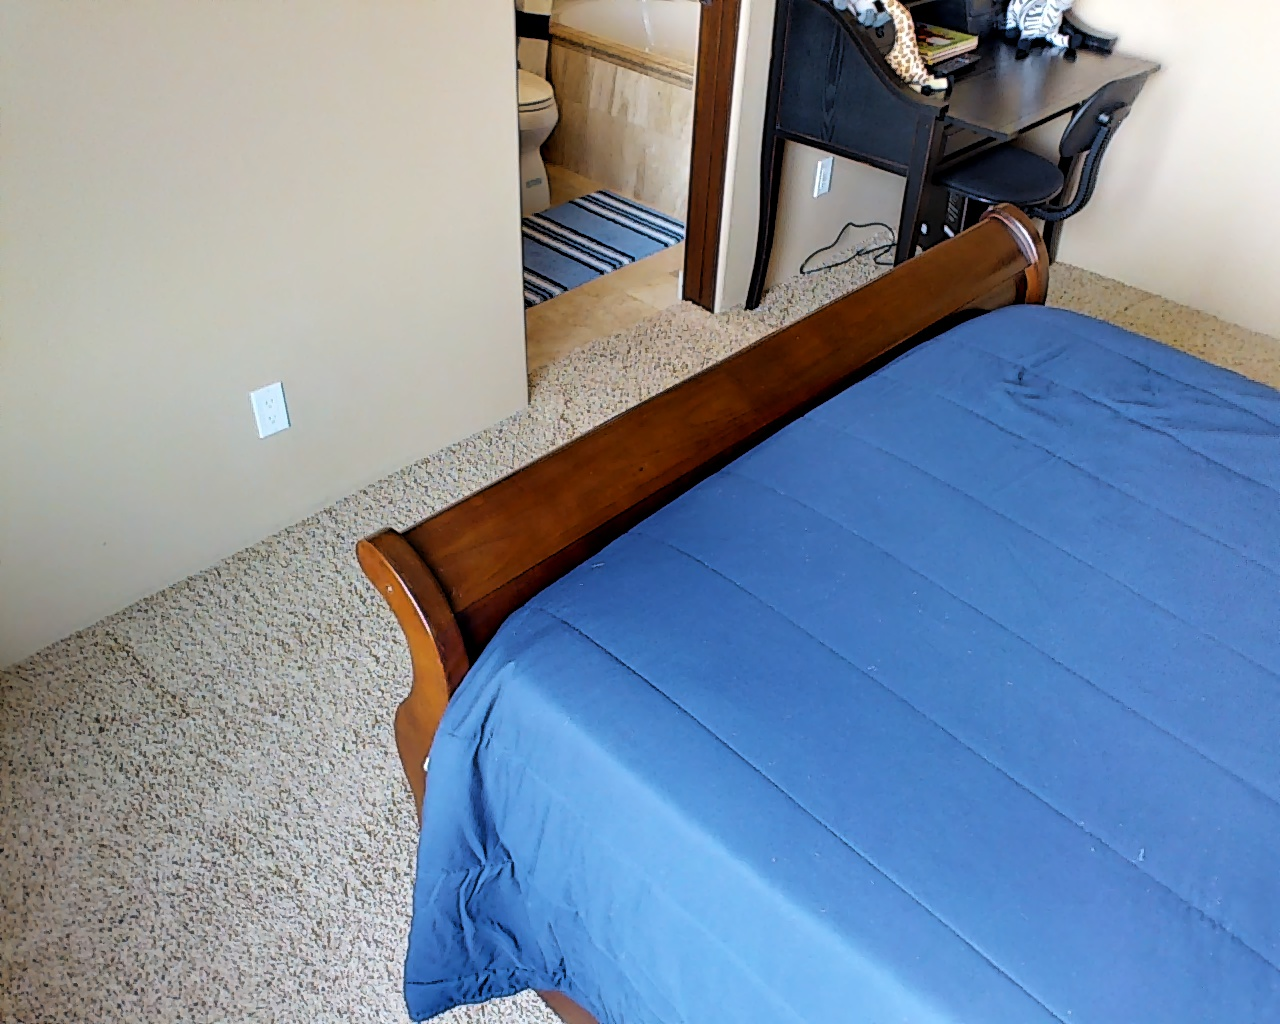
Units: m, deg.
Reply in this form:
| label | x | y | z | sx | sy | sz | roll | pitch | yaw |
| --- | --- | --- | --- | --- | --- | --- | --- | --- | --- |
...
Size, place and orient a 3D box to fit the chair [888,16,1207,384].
| label | x | y | z | sx | sy | sz | roll | pitch | yaw |
| --- | --- | --- | --- | --- | --- | --- | --- | --- | --- |
| chair | 1.110 | -0.880 | 2.990 | 0.440 | 0.780 | 0.570 | 33 | 47 | 32 |

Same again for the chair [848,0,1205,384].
| label | x | y | z | sx | sy | sz | roll | pitch | yaw |
| --- | --- | --- | --- | --- | --- | --- | --- | --- | --- |
| chair | 1.060 | -0.930 | 3.050 | 0.580 | 0.820 | 0.560 | 33 | 47 | 32 |
